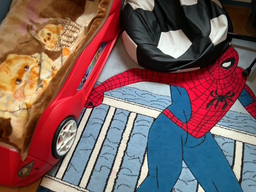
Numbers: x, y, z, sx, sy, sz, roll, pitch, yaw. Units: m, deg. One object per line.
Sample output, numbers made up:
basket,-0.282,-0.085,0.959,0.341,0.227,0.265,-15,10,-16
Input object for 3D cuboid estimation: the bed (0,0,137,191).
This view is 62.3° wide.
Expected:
bed,-0.660,-0.390,1.730,0.940,0.290,2.090,15,63,12

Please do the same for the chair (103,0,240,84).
chair,0.370,-0.600,1.750,0.890,0.330,0.760,15,63,12
